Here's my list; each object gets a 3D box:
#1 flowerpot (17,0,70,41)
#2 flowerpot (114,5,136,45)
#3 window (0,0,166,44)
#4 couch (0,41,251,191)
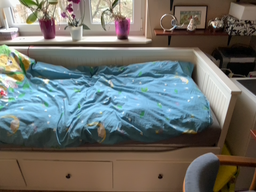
[{"bbox_3d":[-0.830,-0.850,2.130,0.360,0.500,0.330,0,29,-1],"label":"flowerpot"},{"bbox_3d":[-0.030,-0.690,2.060,0.200,0.330,0.240,0,29,-2],"label":"flowerpot"},{"bbox_3d":[-0.490,-1.230,1.830,1.690,1.530,0.080,0,29,-1],"label":"window"},{"bbox_3d":[-0.410,0.100,1.780,2.130,0.850,1.020,0,29,-1],"label":"couch"}]
